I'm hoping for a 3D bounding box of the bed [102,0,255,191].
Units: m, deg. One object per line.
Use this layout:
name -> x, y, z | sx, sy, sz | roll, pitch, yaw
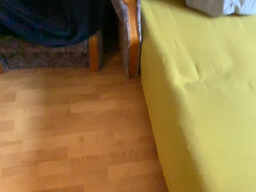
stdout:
bed -> 0.660, -0.280, 1.330 | 1.450, 0.390, 2.000 | -6, 56, -9
